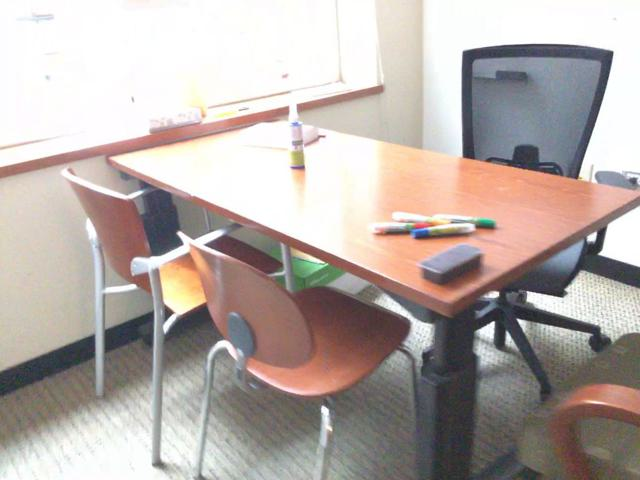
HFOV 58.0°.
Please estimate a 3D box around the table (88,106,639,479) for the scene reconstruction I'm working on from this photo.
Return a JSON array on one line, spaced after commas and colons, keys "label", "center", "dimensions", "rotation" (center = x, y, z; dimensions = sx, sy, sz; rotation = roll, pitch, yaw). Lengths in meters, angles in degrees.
[{"label": "table", "center": [0.030, 0.150, 1.830], "dimensions": [0.910, 0.870, 1.480], "rotation": [-20, 25, -30]}]
